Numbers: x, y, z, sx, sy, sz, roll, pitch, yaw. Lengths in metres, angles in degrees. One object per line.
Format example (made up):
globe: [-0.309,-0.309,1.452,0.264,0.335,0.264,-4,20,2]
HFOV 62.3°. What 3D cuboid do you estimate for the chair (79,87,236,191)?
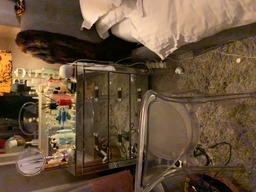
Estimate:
chair: [0.190,0.180,1.220,0.400,0.810,0.400,9,95,54]
